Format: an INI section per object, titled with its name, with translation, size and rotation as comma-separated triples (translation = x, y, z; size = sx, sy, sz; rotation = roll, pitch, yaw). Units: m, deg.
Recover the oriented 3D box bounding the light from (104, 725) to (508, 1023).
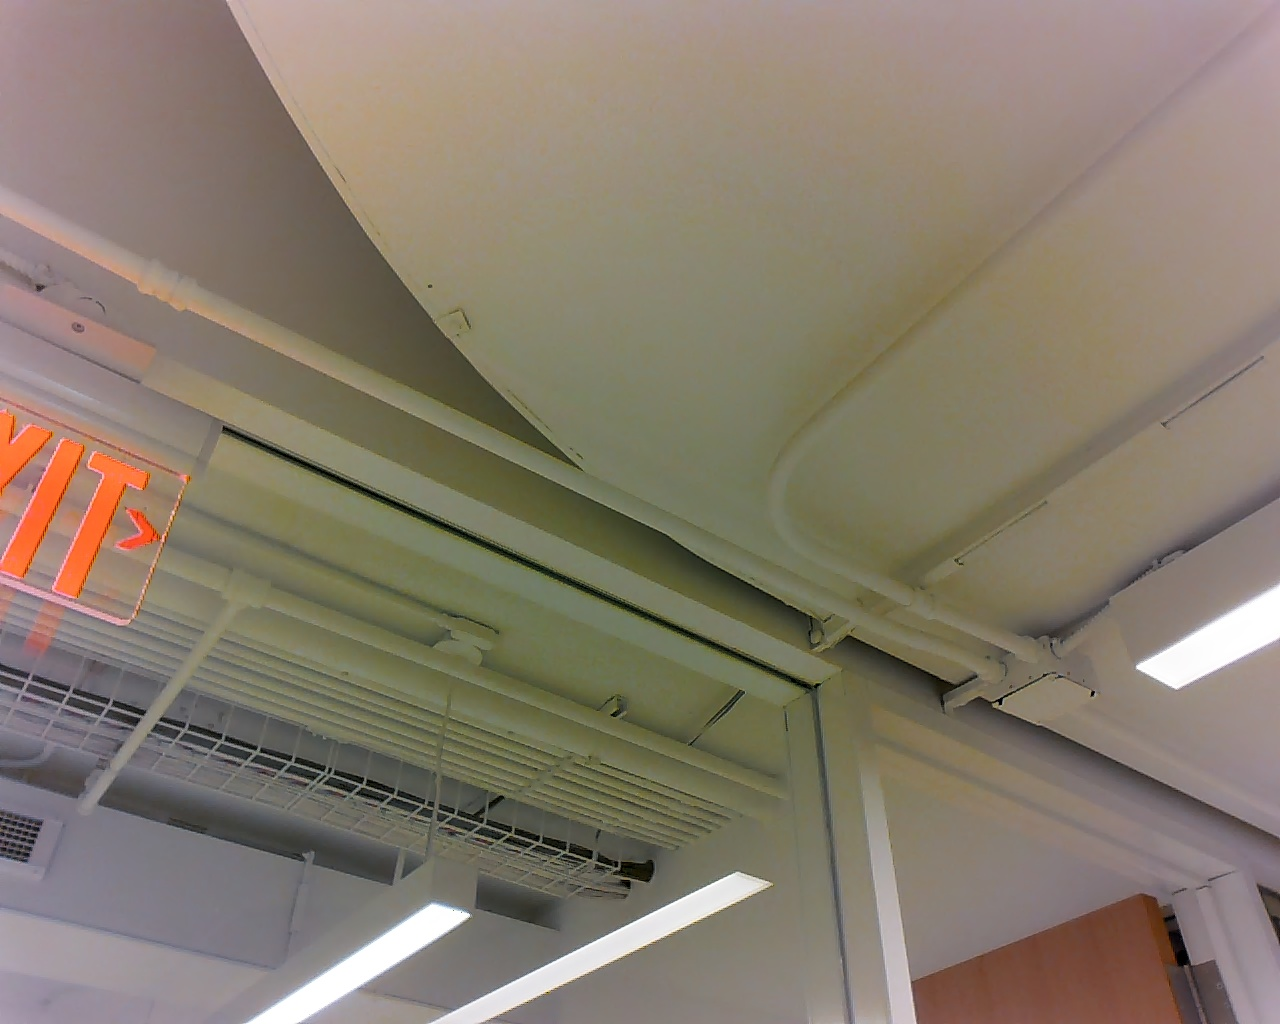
[light]
translation = -1.099, 1.301, 3.000
size = 0.180, 0.400, 2.430
rotation = 27, -48, -26
